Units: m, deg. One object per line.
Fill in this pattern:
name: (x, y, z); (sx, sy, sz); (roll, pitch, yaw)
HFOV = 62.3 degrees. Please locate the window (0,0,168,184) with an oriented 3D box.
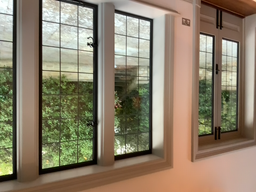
window: (-0.630, -0.100, 2.120); (2.550, 1.670, 0.160); (0, -178, -32)
